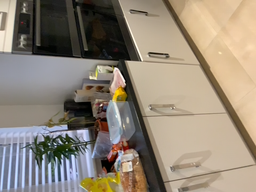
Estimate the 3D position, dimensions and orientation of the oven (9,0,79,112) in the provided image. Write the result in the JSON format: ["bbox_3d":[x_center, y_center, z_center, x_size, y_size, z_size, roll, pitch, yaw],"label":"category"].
[{"bbox_3d":[-0.720,-0.330,1.800,0.720,0.420,0.620,118,144,-47],"label":"oven"}]

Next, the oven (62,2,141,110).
[{"bbox_3d":[-0.310,-0.330,1.980,0.720,0.470,0.620,118,144,-47],"label":"oven"}]

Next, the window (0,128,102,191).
[{"bbox_3d":[-0.730,0.710,1.490,0.030,1.110,1.010,118,144,-46],"label":"window"}]
